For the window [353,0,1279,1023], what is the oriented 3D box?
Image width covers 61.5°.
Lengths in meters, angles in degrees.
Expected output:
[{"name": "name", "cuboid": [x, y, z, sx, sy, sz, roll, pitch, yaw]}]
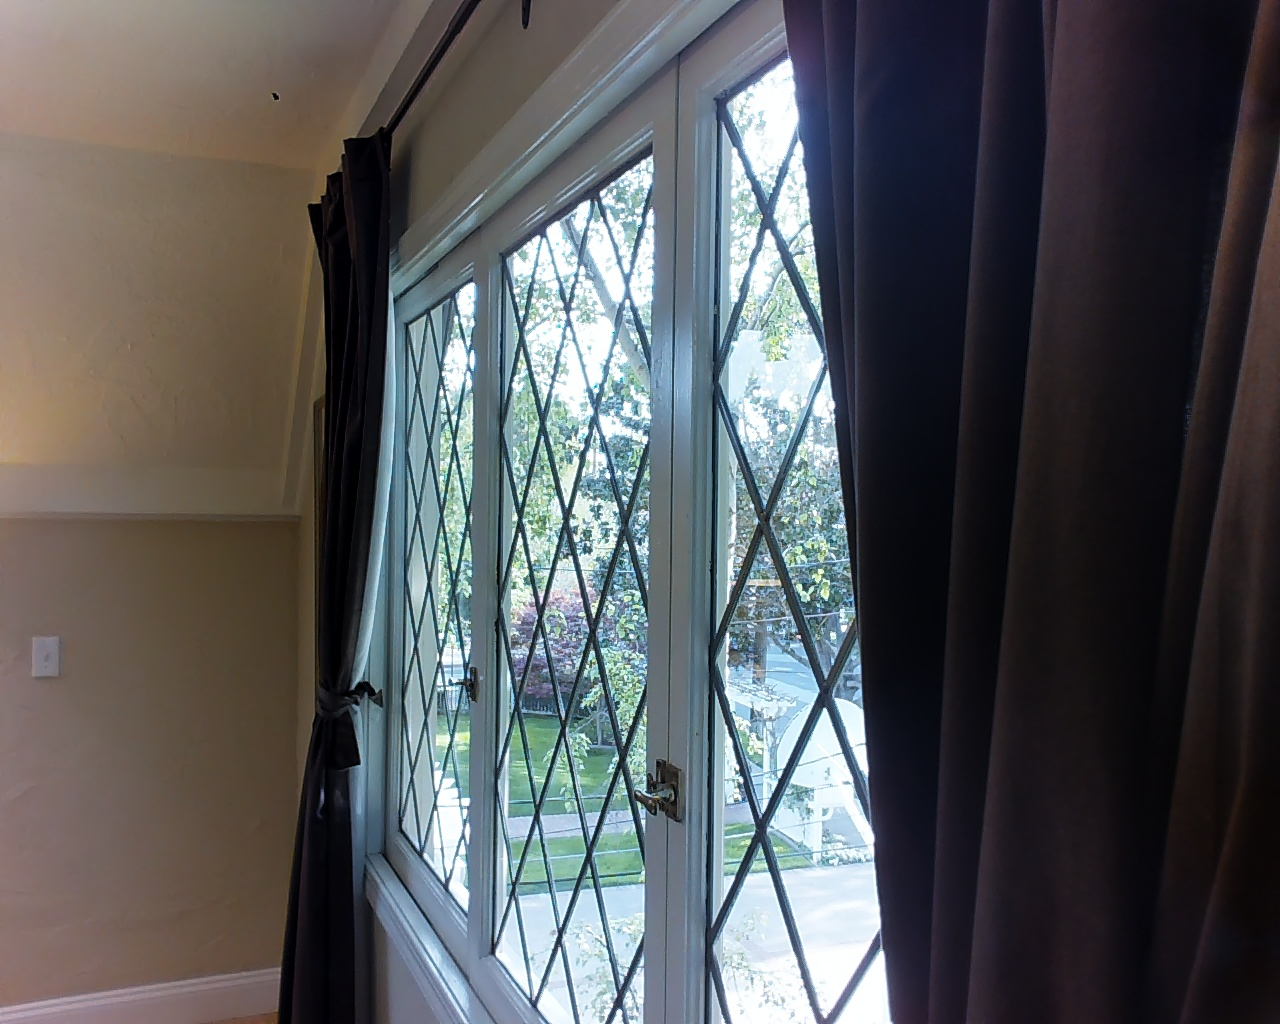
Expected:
[{"name": "window", "cuboid": [-0.090, 0.160, 1.400, 0.210, 1.380, 2.080, 1, 0, -24]}]
